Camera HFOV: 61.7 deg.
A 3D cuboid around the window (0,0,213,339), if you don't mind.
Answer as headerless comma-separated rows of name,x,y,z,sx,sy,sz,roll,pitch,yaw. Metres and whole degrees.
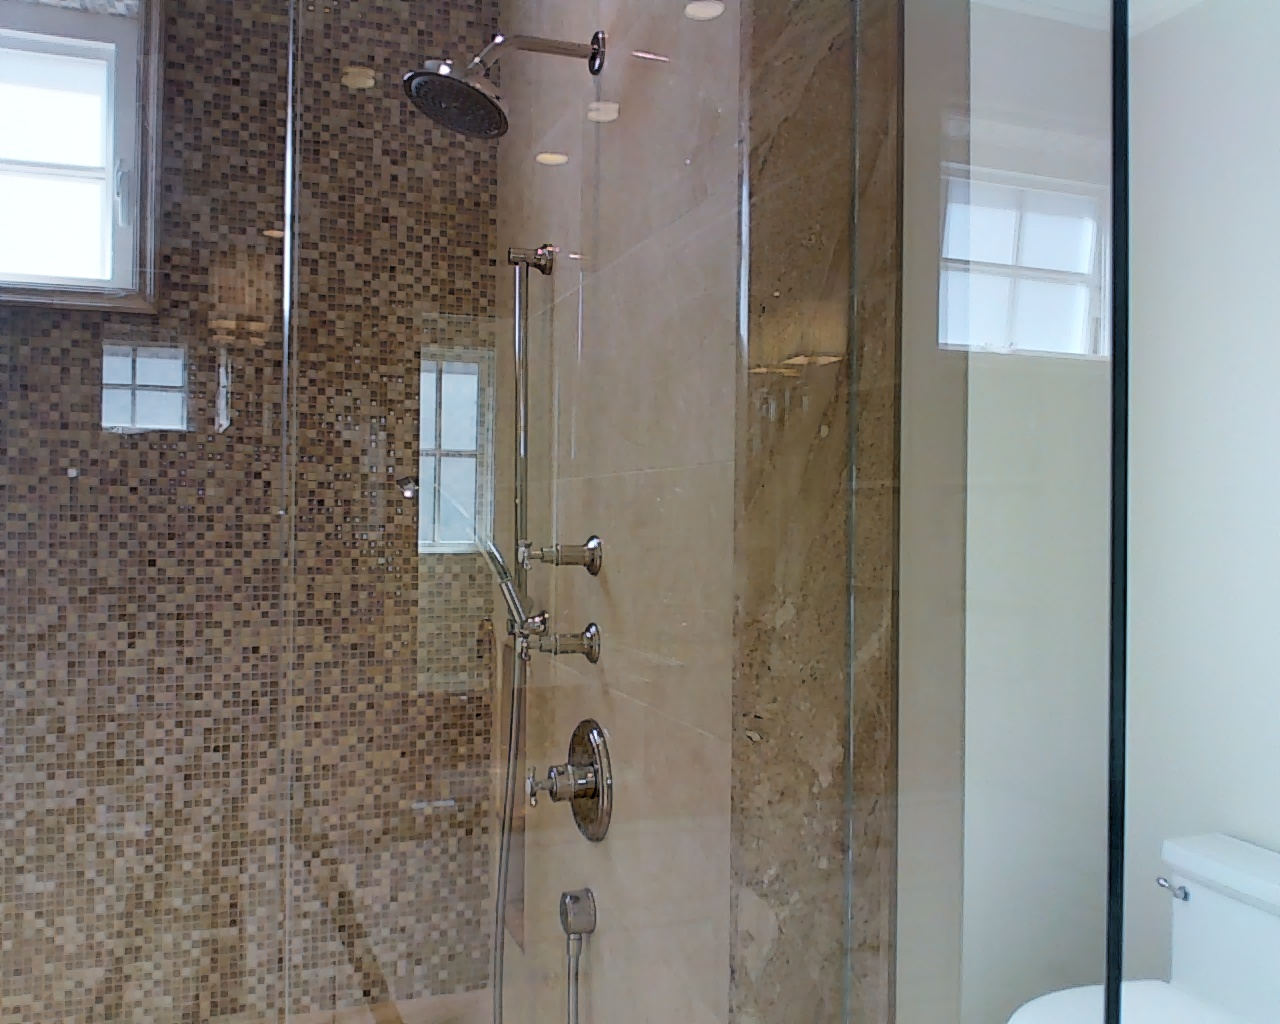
window,-1.319,-0.700,1.940,1.000,0.680,0.220,0,-1,-18
